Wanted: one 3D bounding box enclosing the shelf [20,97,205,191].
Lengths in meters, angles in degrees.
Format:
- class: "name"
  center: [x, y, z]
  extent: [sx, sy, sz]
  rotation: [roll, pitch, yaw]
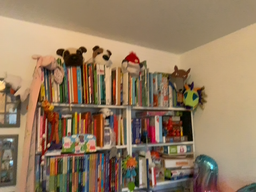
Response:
- class: "shelf"
  center: [-0.010, 1.020, 1.630]
  extent: [1.490, 1.900, 0.280]
  rotation: [5, -9, -31]
